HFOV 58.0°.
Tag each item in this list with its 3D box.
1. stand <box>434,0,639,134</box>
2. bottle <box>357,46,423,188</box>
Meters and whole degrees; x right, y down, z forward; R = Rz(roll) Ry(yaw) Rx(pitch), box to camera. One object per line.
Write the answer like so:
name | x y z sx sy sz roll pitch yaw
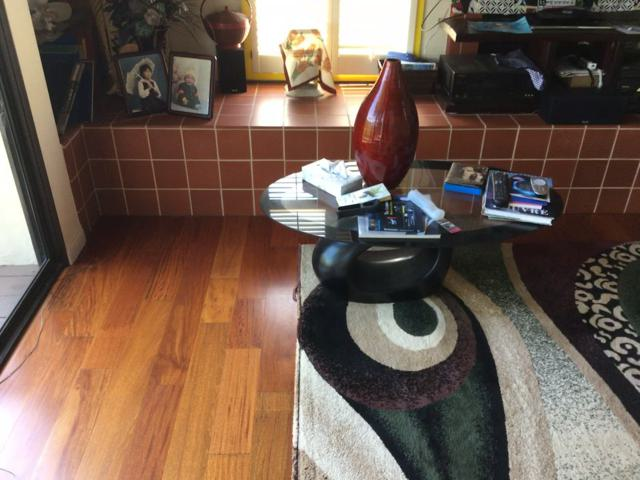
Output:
stand | 1.240 -0.890 2.810 1.270 0.490 0.540 -5 26 4
bottle | 0.260 -0.460 2.160 0.200 0.460 0.240 -5 26 4
